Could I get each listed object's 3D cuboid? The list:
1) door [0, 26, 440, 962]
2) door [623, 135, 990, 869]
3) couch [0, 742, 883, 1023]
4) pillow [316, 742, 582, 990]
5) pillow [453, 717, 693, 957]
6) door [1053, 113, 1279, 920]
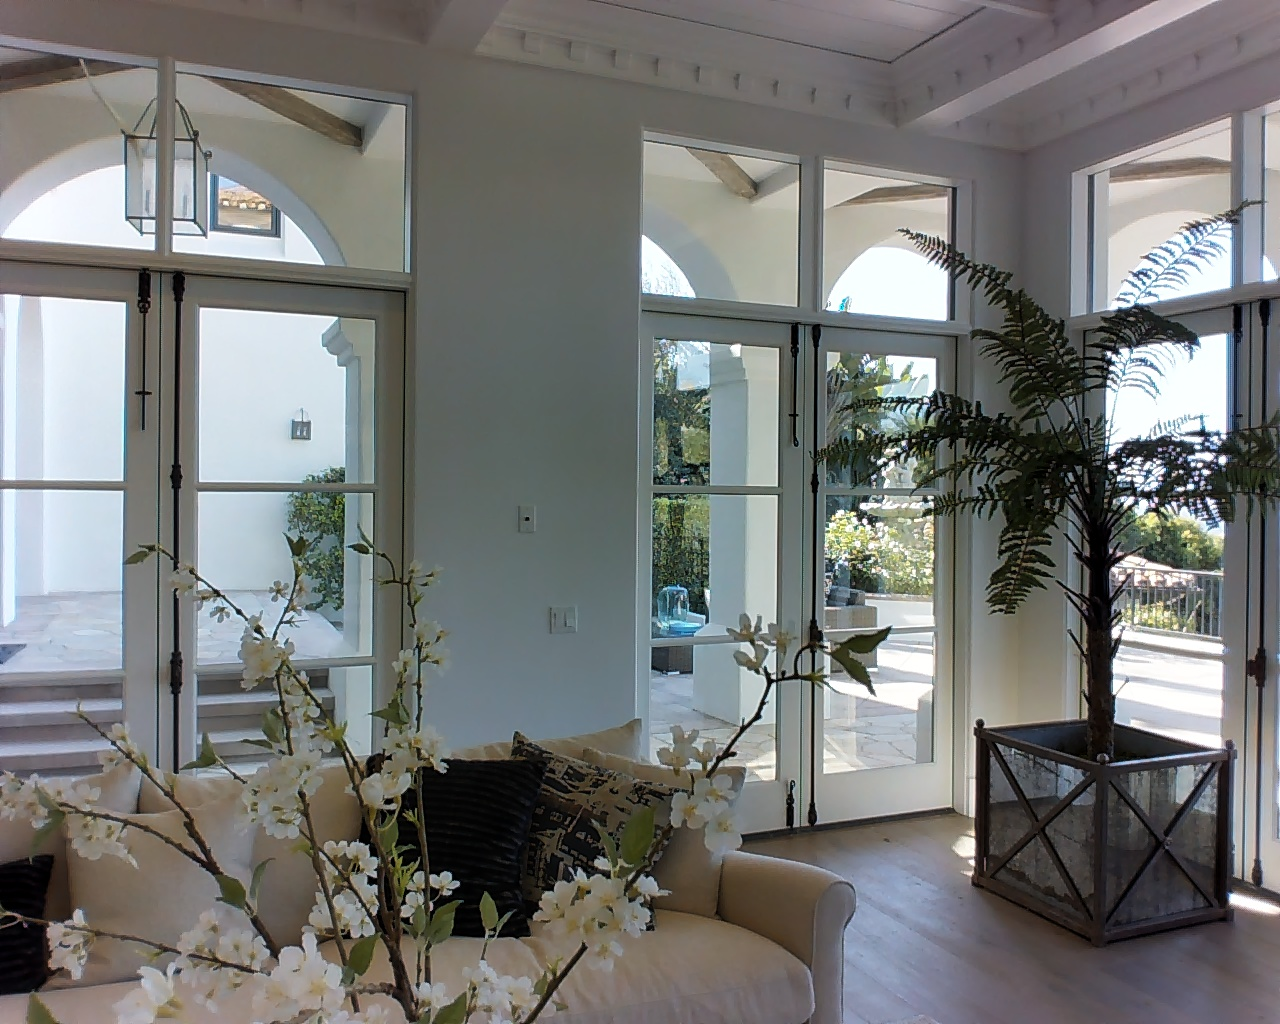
[{"bbox_3d":[-1.739,-0.040,4.040,1.850,3.251,0.200,2,0,-23],"label":"door"},{"bbox_3d":[0.840,-0.020,5.130,1.810,3.211,0.190,2,0,-23],"label":"door"},{"bbox_3d":[-0.840,1.190,2.700,2.639,0.830,1.140,2,0,-23],"label":"couch"},{"bbox_3d":[-0.490,0.920,2.860,0.530,0.420,0.290,22,-9,4],"label":"pillow"},{"bbox_3d":[-0.180,0.890,2.960,0.460,0.440,0.210,26,-13,25],"label":"pillow"},{"bbox_3d":[2.519,0.000,4.460,0.170,3.181,1.840,2,0,-23],"label":"door"}]
